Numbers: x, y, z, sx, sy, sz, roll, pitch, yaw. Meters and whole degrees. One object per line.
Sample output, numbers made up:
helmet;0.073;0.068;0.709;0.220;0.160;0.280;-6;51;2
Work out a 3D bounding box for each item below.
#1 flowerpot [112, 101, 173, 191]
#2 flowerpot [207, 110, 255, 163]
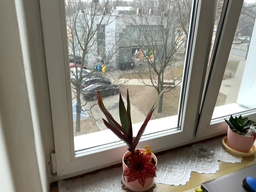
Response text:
flowerpot;0.040;0.210;0.820;0.180;0.340;0.140;-4;23;-15
flowerpot;0.590;0.210;1.160;0.220;0.180;0.170;-11;25;-30
